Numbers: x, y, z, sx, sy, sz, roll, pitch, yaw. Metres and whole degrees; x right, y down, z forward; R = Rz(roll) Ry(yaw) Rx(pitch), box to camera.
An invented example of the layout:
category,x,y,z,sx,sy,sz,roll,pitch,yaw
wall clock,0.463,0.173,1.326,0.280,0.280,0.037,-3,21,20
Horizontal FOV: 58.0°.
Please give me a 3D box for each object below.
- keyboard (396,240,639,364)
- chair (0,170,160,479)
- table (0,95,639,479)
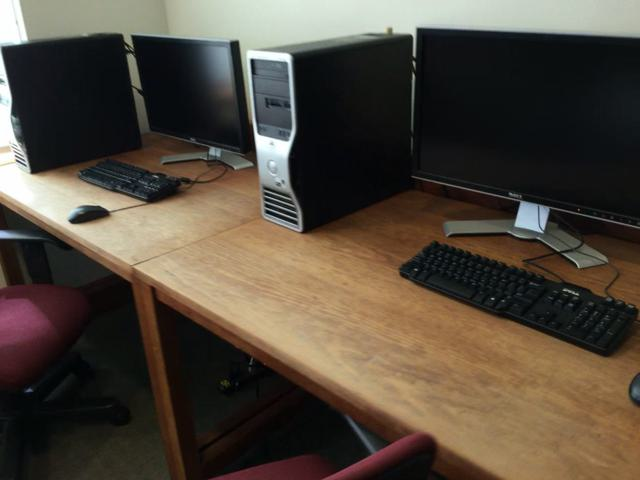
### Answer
category,x,y,z,sx,sy,sz,roll,pitch,yaw
keyboard,0.370,0.100,1.120,0.150,0.050,0.440,-19,29,-41
chair,-1.010,0.280,1.800,0.660,0.820,0.700,6,22,13
table,-0.180,0.220,1.720,1.130,0.940,2.560,-19,29,-41
